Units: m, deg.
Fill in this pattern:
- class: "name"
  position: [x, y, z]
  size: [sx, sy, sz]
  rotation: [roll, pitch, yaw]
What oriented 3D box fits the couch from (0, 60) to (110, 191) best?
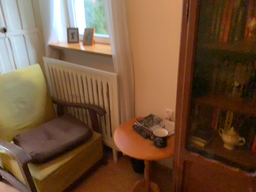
- class: "couch"
  position: [-0.780, 0.280, 1.940]
  size: [0.870, 0.920, 0.810]
  rotation: [16, 30, 33]
